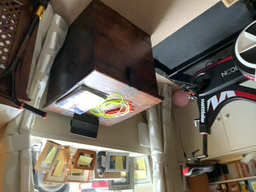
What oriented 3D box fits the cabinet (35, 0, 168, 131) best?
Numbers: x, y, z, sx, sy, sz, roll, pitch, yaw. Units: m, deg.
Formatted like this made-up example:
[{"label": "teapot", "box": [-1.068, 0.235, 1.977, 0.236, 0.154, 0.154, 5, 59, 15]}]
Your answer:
[{"label": "cabinet", "box": [-0.220, -0.180, 1.690, 0.650, 0.630, 0.730, 21, 143, -40]}]
